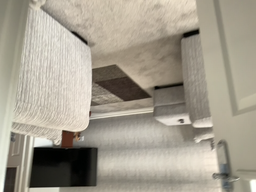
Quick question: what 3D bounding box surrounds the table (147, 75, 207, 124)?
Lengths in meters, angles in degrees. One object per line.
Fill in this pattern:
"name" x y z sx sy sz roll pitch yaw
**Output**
"table" 0.660 0.090 2.780 0.610 0.430 0.650 -9 162 23
